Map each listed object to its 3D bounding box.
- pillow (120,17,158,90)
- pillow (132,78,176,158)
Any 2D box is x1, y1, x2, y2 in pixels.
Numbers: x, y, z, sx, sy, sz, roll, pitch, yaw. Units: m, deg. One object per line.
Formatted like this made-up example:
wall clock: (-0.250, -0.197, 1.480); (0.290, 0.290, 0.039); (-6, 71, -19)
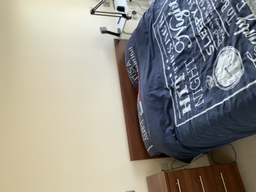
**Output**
pillow: (0.090, -0.430, 2.220); (0.390, 0.190, 0.630); (121, 144, -61)
pillow: (0.210, 0.200, 1.930); (0.360, 0.160, 0.630); (120, 145, -60)
